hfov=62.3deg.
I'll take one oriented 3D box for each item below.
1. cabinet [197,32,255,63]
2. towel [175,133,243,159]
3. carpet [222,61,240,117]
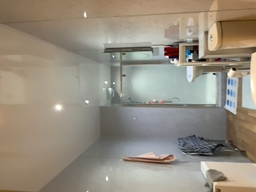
[{"bbox_3d":[1.080,-0.440,1.950,0.260,0.810,0.230,-17,-72,-82],"label":"cabinet"},{"bbox_3d":[1.240,0.790,3.460,0.930,0.850,0.140,-13,-77,-82],"label":"towel"},{"bbox_3d":[1.730,-0.110,3.590,0.610,0.070,0.870,5,-94,-82],"label":"carpet"}]
